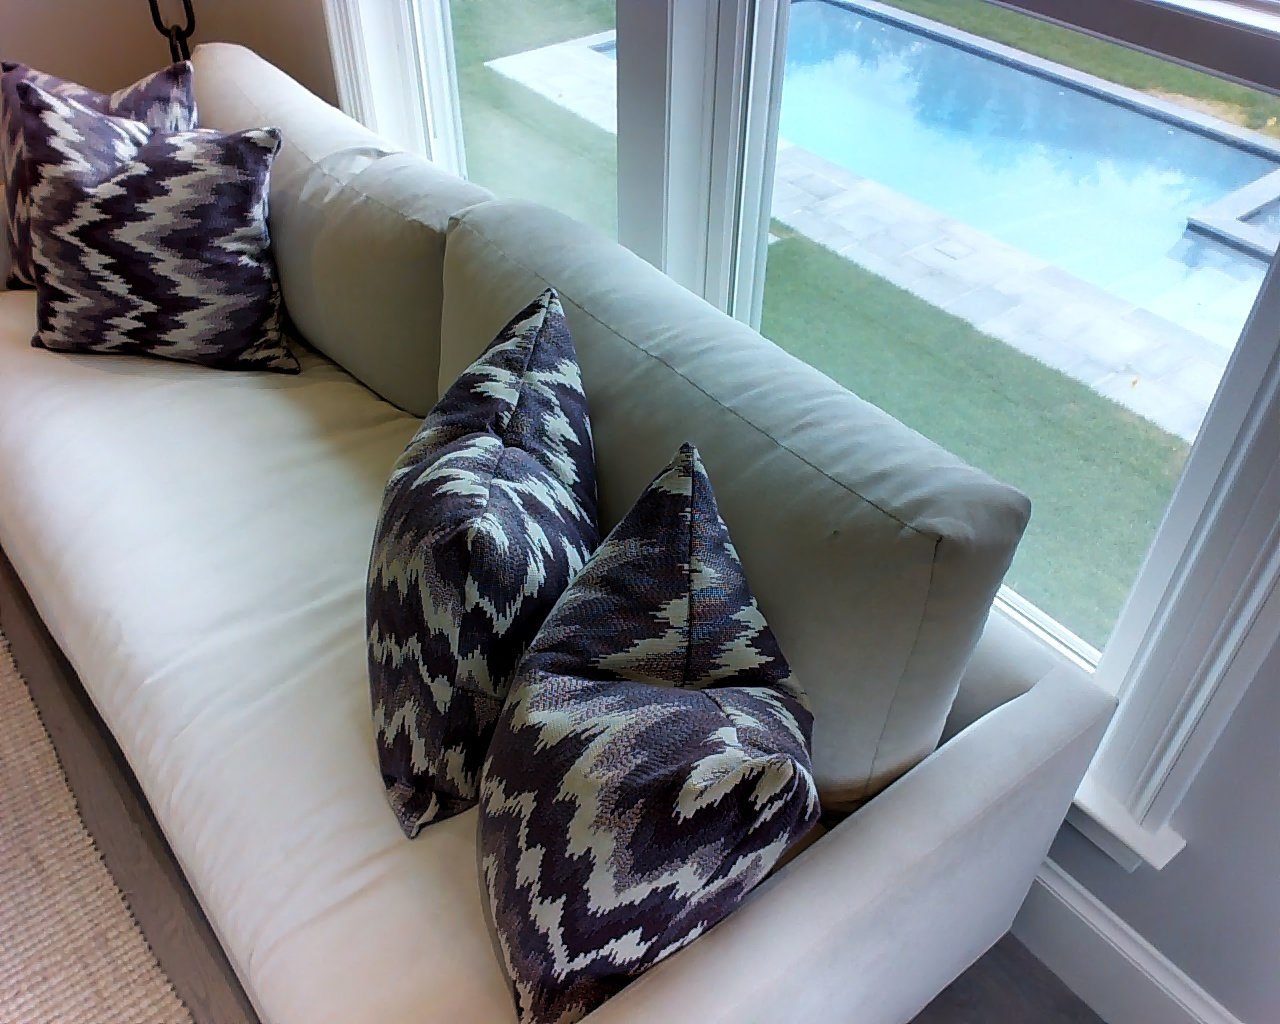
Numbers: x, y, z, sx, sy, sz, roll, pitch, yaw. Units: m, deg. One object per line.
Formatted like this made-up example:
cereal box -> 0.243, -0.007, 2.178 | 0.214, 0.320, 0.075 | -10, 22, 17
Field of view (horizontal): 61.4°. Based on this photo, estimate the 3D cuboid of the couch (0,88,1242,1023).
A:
couch -> -0.440, 0.050, 1.840 | 1.090, 0.650, 2.240 | -27, 48, -28

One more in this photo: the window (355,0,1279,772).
window -> 0.060, -0.830, 1.470 | 0.150, 1.730, 1.910 | -27, 48, -28
